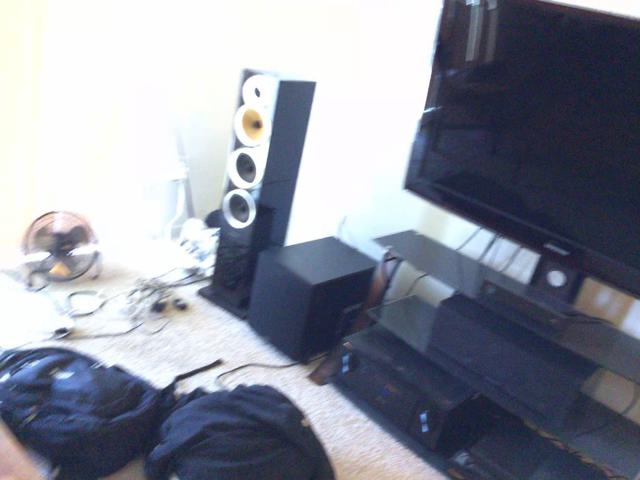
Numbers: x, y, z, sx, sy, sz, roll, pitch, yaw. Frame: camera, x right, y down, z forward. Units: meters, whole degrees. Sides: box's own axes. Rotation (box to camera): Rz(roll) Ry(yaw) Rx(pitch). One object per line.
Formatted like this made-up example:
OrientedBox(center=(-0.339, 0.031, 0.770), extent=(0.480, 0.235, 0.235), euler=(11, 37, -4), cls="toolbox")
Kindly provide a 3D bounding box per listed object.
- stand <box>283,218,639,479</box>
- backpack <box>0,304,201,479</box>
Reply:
OrientedBox(center=(0.560, 0.420, 1.930), extent=(1.210, 0.620, 0.560), euler=(25, 16, 37), cls="stand")
OrientedBox(center=(-0.750, 0.420, 1.650), extent=(0.650, 0.180, 0.490), euler=(25, 16, 37), cls="backpack")
